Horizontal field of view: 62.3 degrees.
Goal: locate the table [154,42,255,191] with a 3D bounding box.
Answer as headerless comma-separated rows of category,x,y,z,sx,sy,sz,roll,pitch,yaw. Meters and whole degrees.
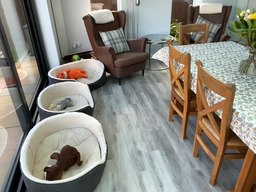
table,0.970,0.150,2.010,0.920,0.760,1.810,-6,31,-8

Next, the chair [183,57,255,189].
chair,0.810,0.220,1.730,0.470,0.930,0.460,-6,31,-8

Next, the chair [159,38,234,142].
chair,0.650,-0.060,2.220,0.460,0.930,0.460,-7,31,-10
